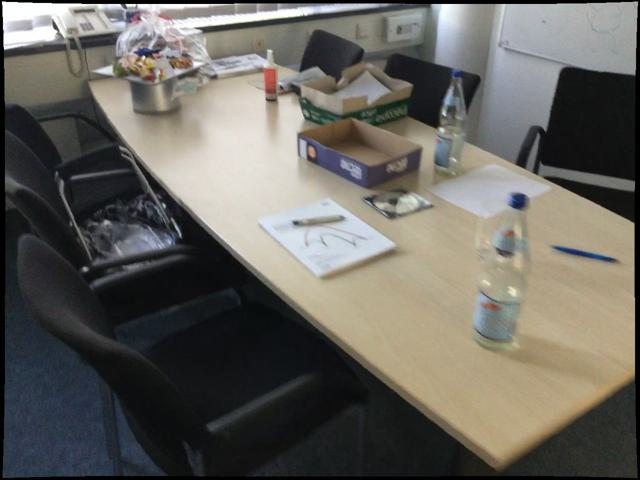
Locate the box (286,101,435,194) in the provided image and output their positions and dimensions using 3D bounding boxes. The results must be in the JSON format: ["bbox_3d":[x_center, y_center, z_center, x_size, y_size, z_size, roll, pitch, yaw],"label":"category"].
[{"bbox_3d":[0.110,-0.290,1.730,0.260,0.090,0.390,-20,38,-26],"label":"box"}]

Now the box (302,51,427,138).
[{"bbox_3d":[0.150,-0.521,2.030,0.290,0.150,0.330,-22,39,-25],"label":"box"}]
